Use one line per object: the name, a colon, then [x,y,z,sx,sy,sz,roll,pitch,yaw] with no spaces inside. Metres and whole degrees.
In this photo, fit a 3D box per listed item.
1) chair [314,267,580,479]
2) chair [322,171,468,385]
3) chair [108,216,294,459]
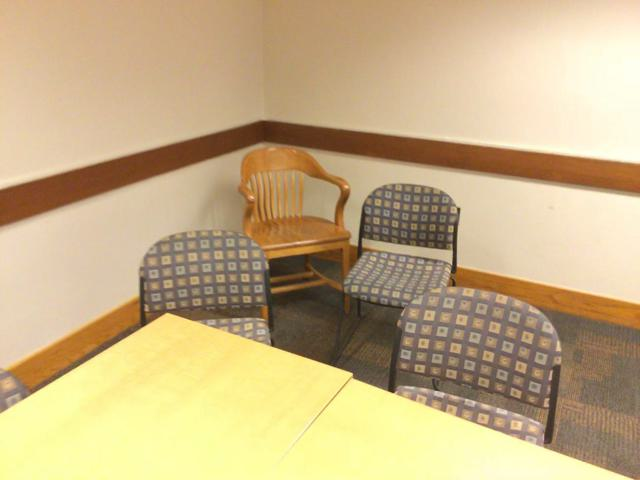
chair: [0.360,0.550,1.560,0.530,0.750,0.570,7,20,25]
chair: [0.340,0.130,2.540,0.470,0.760,0.500,7,20,25]
chair: [-0.370,0.310,2.010,0.510,0.660,0.460,-3,18,-5]
